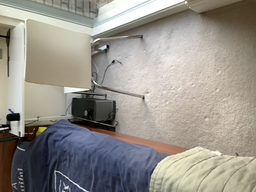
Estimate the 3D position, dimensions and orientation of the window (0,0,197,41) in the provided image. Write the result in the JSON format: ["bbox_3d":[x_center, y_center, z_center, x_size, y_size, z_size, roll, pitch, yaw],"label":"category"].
[{"bbox_3d":[-0.700,-0.680,1.050,1.030,2.170,0.260,4,93,48],"label":"window"}]

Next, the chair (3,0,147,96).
[{"bbox_3d":[-0.350,-0.260,1.530,0.510,0.860,0.500,1,90,48],"label":"chair"}]
